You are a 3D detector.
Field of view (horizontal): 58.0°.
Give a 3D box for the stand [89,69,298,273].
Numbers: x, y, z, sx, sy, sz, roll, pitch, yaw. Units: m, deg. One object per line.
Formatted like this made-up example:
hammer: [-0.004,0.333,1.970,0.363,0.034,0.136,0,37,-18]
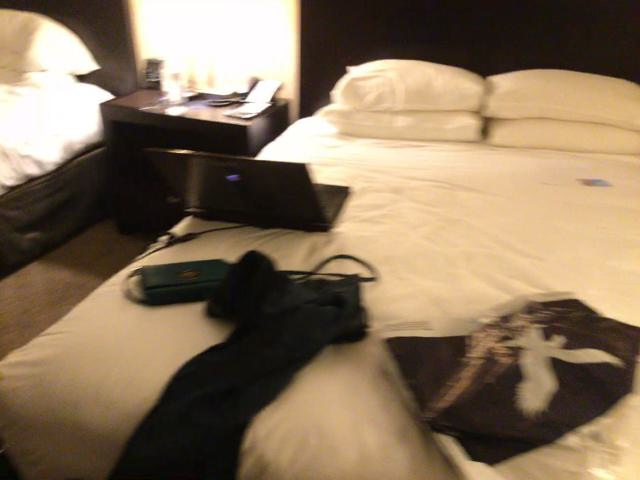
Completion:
stand: [-0.590,-0.360,2.770,0.770,0.710,0.510,14,27,14]
